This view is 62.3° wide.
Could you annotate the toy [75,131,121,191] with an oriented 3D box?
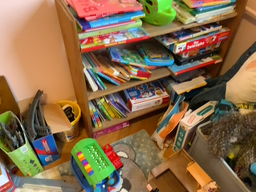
[{"bbox_3d":[-0.160,0.360,1.130,0.140,0.180,0.250,-21,50,-23],"label":"toy"}]
